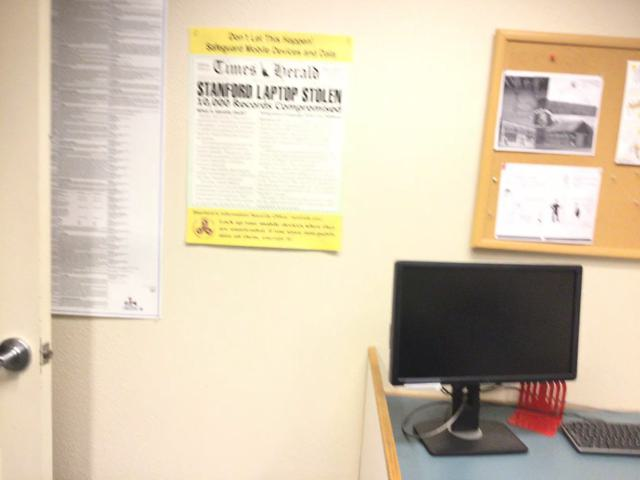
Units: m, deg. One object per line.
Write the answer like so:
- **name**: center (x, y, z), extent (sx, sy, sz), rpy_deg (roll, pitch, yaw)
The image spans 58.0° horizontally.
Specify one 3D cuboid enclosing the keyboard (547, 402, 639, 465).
- **keyboard**: center (0.900, 0.520, 1.550), extent (0.480, 0.040, 0.280), rpy_deg (2, 6, 4)
